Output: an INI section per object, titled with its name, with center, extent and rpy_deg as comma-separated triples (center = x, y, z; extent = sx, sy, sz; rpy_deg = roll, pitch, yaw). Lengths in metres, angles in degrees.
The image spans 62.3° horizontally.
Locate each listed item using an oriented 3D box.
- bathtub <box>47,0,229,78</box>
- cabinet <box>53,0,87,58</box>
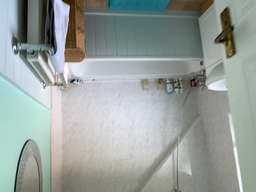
[bathtub]
center = 0.080, -0.590, 2.430
extent = 1.760, 0.540, 0.800
rpy_deg = -2, 170, -11
[cabinet]
center = -0.480, -0.640, 1.790
extent = 0.240, 0.560, 0.300
rpy_deg = -2, 170, -11
